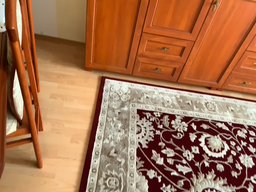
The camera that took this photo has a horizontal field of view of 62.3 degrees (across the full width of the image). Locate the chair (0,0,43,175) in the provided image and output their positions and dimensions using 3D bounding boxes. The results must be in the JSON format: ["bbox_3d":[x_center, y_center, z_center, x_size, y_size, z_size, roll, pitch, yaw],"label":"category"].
[{"bbox_3d":[-0.690,-0.020,0.990,0.460,1.020,0.350,-3,47,-18],"label":"chair"}]
